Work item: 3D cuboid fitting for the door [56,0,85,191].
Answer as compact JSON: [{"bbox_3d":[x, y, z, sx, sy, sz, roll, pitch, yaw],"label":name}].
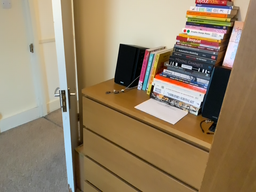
[{"bbox_3d":[-0.410,-0.230,1.610,0.060,2.130,0.720,0,26,-8],"label":"door"}]
